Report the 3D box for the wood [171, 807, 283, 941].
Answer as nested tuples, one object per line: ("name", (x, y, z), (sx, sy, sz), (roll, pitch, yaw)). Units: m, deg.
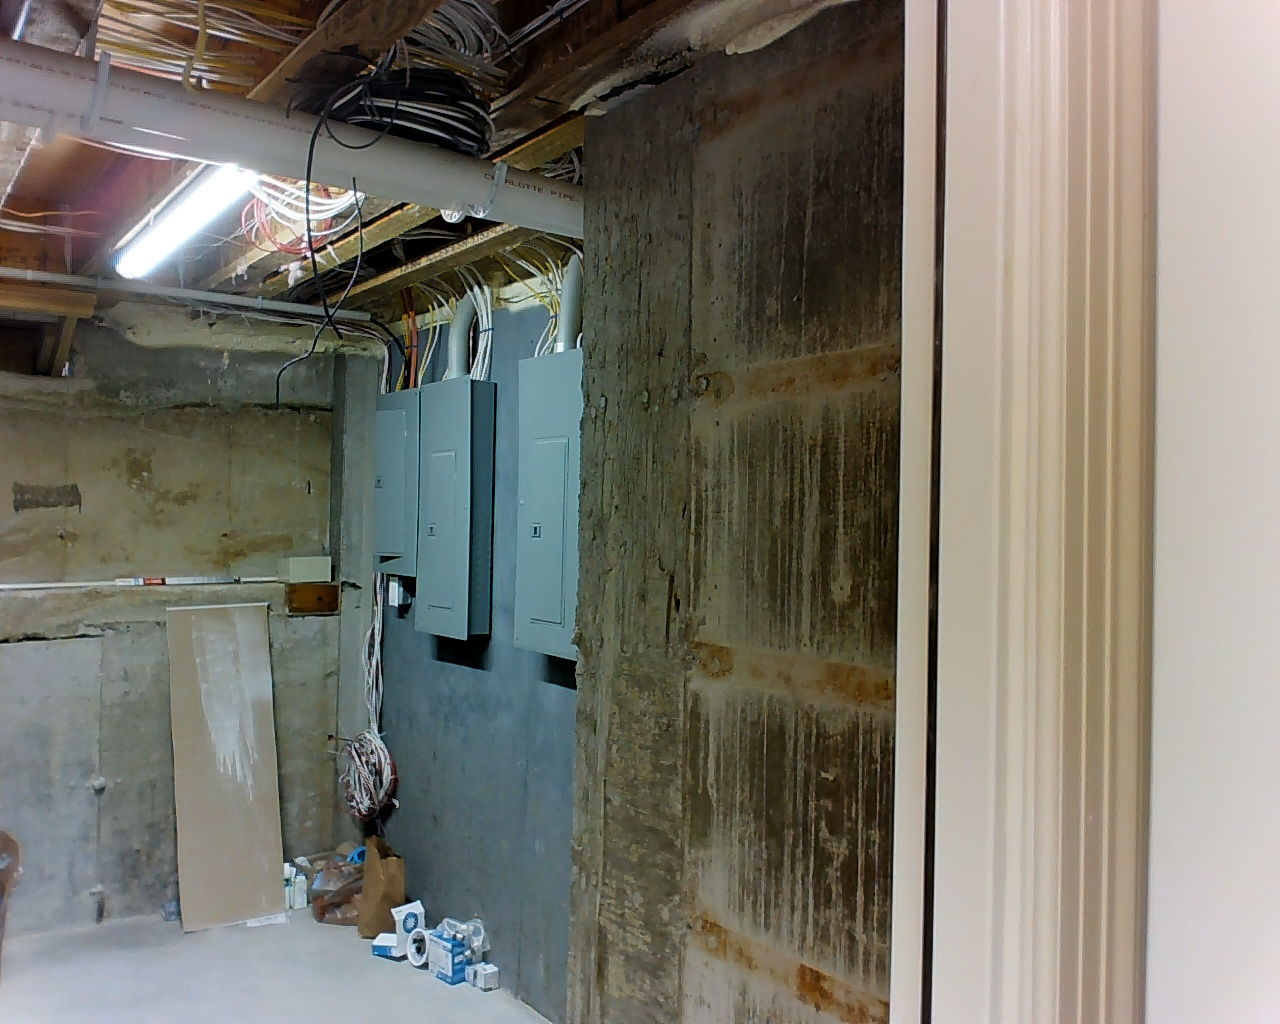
("wood", (-1.600, 1.390, 4.170), (0.350, 0.390, 0.250), (1, -1, -34))
